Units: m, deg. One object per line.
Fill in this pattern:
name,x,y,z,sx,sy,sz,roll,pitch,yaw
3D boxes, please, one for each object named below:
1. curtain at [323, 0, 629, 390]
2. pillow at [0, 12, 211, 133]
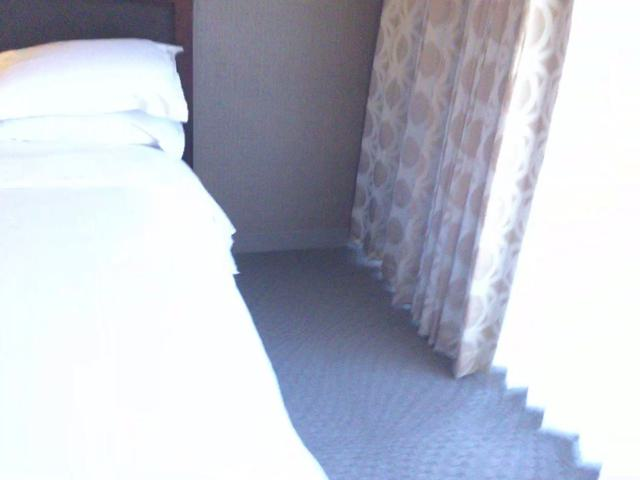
curtain,0.520,-0.650,2.290,0.310,2.090,1.190,-2,24,-23
pillow,-0.840,-0.630,2.160,0.750,0.280,0.460,1,22,-24
